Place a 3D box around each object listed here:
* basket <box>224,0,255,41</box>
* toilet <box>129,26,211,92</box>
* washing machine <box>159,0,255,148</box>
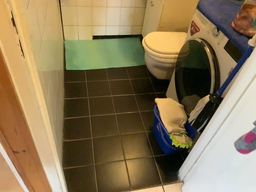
[{"bbox_3d":[0.630,-0.390,1.020,0.180,0.140,0.240,-1,47,-11],"label":"basket"},{"bbox_3d":[0.340,-0.330,1.910,0.550,0.440,0.350,-3,47,-13],"label":"toilet"},{"bbox_3d":[0.690,-0.140,1.500,0.610,0.850,0.580,-3,47,-13],"label":"washing machine"}]
